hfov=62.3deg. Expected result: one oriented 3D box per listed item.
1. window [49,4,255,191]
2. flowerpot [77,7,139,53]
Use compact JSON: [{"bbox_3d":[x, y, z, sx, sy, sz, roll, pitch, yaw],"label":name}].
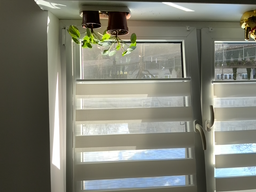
[{"bbox_3d":[0.400,0.140,1.110,1.530,1.140,0.140,0,-178,-4],"label":"window"},{"bbox_3d":[-0.100,-0.310,1.050,0.270,0.150,0.250,-1,-178,-7],"label":"flowerpot"}]
